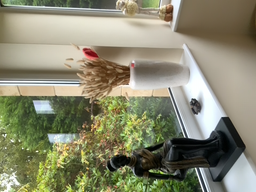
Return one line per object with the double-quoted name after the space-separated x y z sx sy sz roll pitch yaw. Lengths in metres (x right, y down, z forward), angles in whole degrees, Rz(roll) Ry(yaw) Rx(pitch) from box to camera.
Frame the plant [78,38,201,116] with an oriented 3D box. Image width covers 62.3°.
0.040 -0.100 1.260 0.350 0.610 0.280 98 170 -46 "plant"
